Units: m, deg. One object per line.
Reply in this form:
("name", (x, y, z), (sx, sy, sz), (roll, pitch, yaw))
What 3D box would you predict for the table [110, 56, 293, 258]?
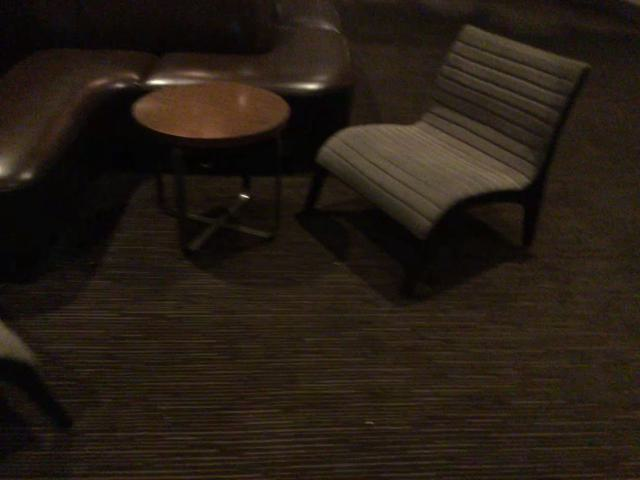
("table", (-0.420, -0.320, 2.240), (0.580, 0.490, 0.590), (1, 47, -7))
